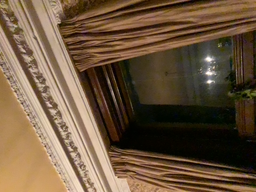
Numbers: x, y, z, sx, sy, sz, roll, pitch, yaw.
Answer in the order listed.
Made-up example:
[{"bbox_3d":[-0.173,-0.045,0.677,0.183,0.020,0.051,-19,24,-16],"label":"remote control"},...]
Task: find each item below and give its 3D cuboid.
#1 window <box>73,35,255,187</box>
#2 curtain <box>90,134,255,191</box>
[{"bbox_3d":[1.150,0.170,1.720,0.310,3.350,1.280,-49,-50,-53],"label":"window"},{"bbox_3d":[1.220,0.770,1.860,0.490,3.330,0.530,-50,-49,-52],"label":"curtain"}]
